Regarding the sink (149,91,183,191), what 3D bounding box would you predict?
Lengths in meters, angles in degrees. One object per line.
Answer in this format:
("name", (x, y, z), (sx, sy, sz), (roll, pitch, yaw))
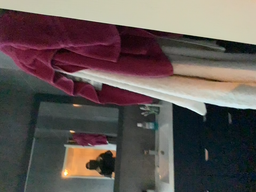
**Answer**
("sink", (0.340, 0.500, 1.980), (0.470, 0.140, 0.990), (122, 153, -71))
